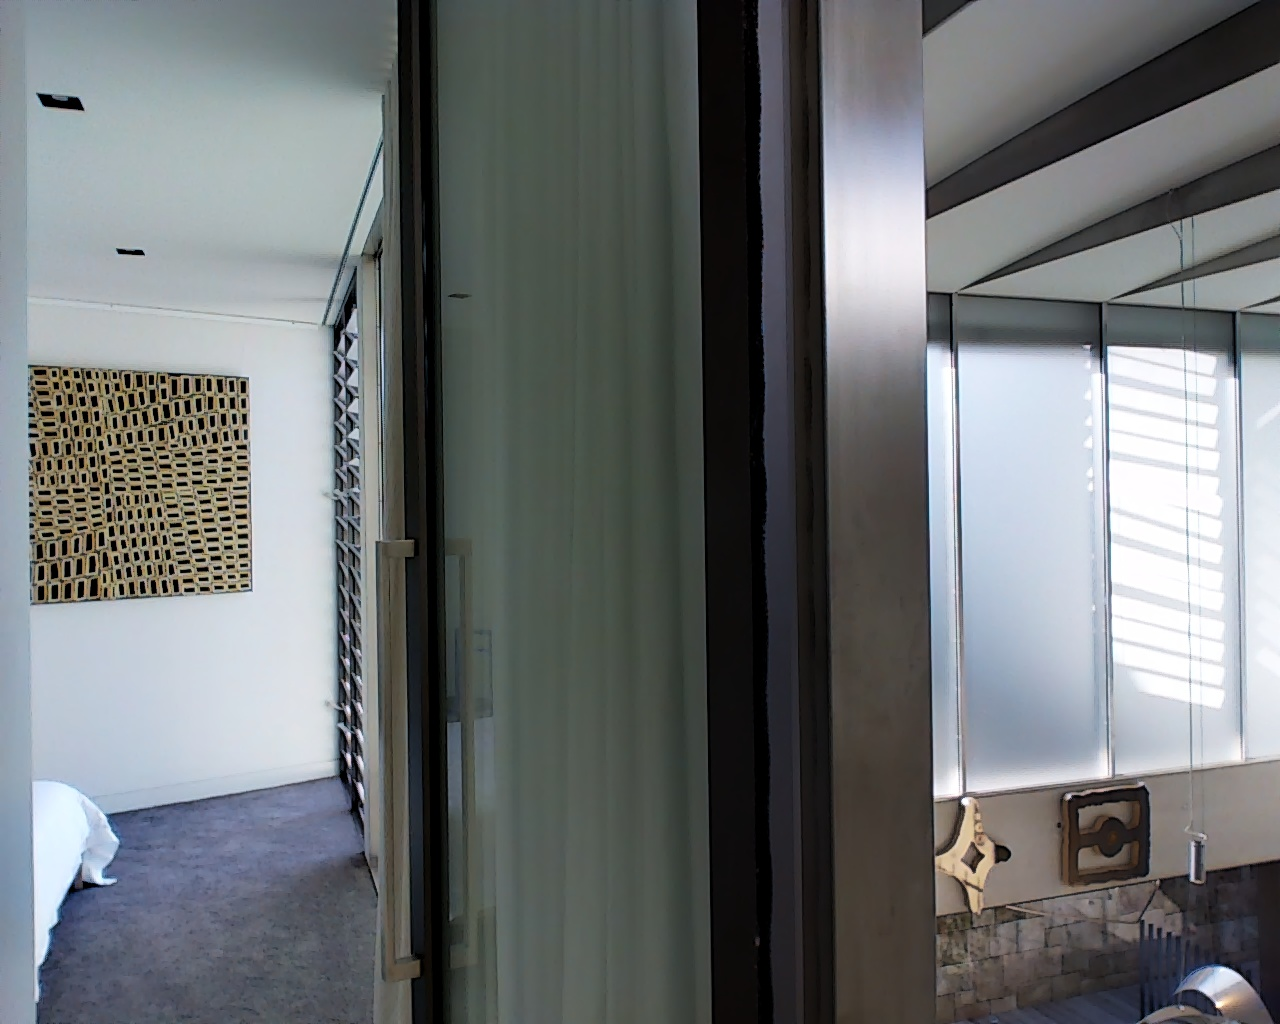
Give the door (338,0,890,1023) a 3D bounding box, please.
[{"bbox_3d":[-0.130,0.260,1.280,0.120,2.591,1.050,-1,0,-32],"label":"door"}]
